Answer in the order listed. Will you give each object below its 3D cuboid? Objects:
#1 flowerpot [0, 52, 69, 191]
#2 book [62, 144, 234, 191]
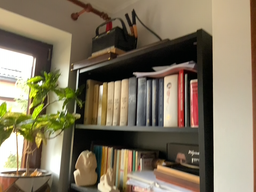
[{"bbox_3d":[-0.610,0.220,1.130,0.360,0.760,0.450,9,-11,-38],"label":"flowerpot"},{"bbox_3d":[0.050,0.370,0.960,0.700,0.230,0.340,-5,-11,42],"label":"book"}]
